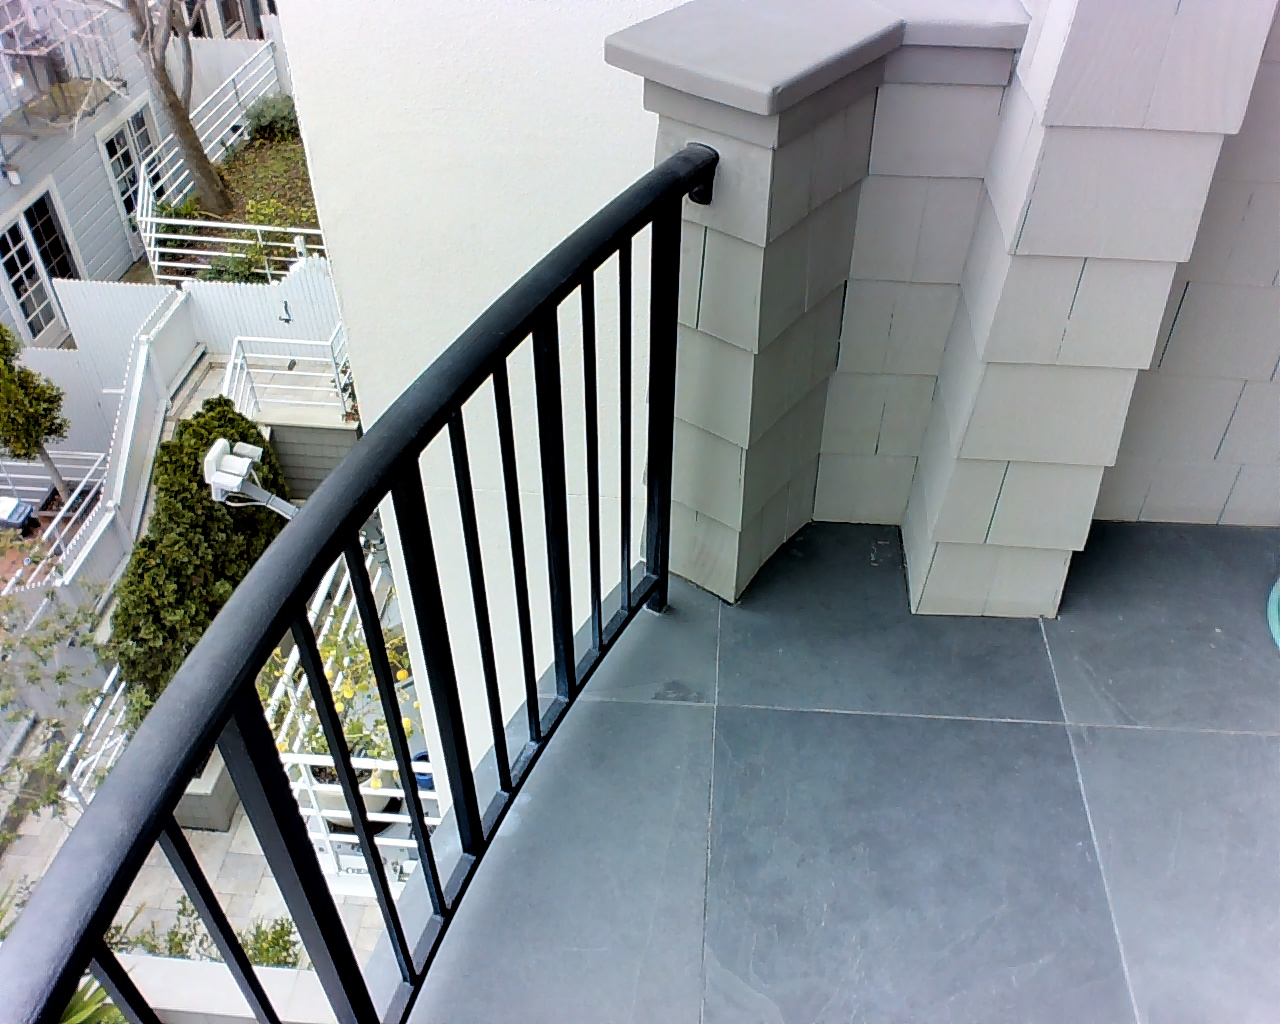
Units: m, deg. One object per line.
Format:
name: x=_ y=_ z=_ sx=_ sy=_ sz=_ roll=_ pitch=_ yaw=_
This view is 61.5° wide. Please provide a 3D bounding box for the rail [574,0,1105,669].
rail: x=0.300 y=-0.370 z=1.900 sx=0.660 sy=1.090 sz=0.440 roll=-29 pitch=50 yaw=-29
